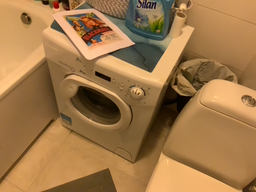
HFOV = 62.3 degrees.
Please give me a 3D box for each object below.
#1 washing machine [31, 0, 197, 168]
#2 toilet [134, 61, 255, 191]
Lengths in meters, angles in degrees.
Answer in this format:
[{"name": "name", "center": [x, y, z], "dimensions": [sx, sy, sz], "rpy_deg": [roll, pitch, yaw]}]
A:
[{"name": "washing machine", "center": [-0.060, -0.080, 1.160], "dimensions": [0.520, 0.700, 0.520], "rpy_deg": [24, 52, 9]}, {"name": "toilet", "center": [0.230, 0.400, 0.800], "dimensions": [0.370, 0.740, 0.650], "rpy_deg": [24, 52, 9]}]
